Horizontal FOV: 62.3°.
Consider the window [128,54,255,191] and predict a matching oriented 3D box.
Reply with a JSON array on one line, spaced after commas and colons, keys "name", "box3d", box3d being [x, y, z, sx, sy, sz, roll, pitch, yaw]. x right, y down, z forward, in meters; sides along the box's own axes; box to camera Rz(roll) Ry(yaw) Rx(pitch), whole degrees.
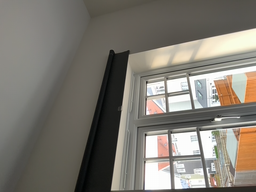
[{"name": "window", "box3d": [0.570, 0.130, 1.400, 1.040, 1.090, 0.080, -84, -21, -45]}]
